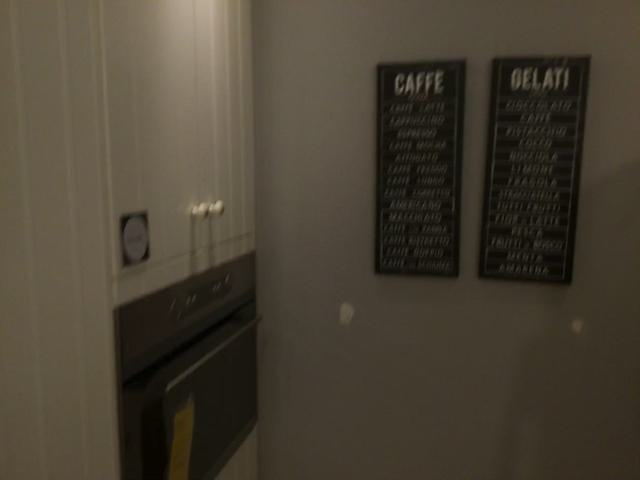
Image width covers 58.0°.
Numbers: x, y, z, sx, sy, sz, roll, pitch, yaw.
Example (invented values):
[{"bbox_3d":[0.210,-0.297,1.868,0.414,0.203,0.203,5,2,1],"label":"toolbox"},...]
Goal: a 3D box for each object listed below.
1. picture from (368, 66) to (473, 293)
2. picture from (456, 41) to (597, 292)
[{"bbox_3d":[0.230,-0.130,1.320,0.230,0.500,0.030,0,6,13],"label":"picture"},{"bbox_3d":[0.440,-0.150,1.260,0.280,0.520,0.040,0,6,13],"label":"picture"}]
